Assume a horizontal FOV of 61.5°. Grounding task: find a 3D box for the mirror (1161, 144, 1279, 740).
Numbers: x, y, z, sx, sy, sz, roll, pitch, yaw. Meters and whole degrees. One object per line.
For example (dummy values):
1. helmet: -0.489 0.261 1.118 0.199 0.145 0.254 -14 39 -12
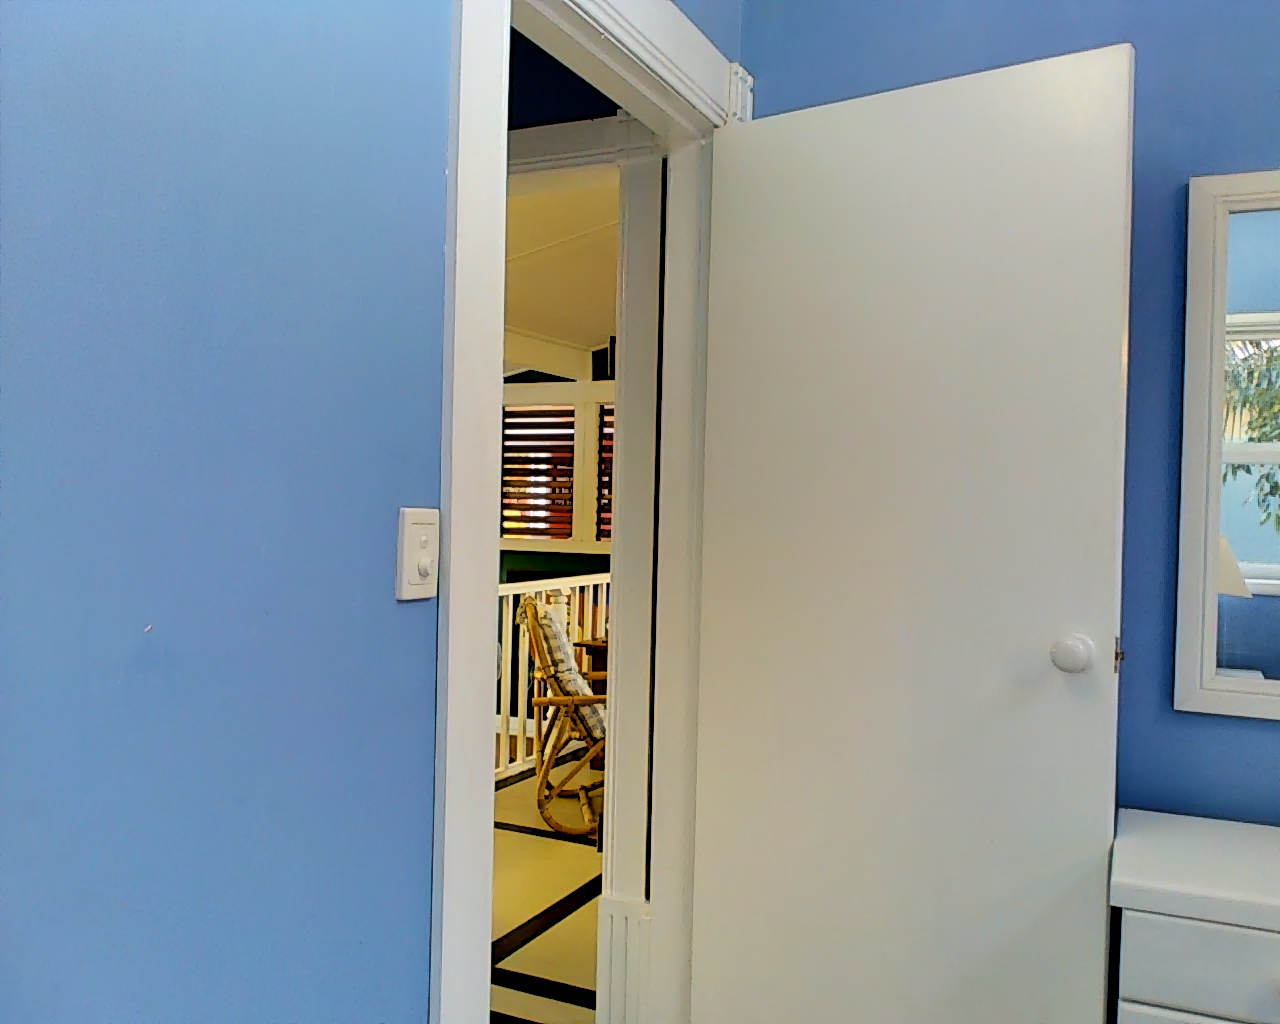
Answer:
1. mirror: 1.360 -0.120 1.840 0.820 1.060 0.060 1 0 26
